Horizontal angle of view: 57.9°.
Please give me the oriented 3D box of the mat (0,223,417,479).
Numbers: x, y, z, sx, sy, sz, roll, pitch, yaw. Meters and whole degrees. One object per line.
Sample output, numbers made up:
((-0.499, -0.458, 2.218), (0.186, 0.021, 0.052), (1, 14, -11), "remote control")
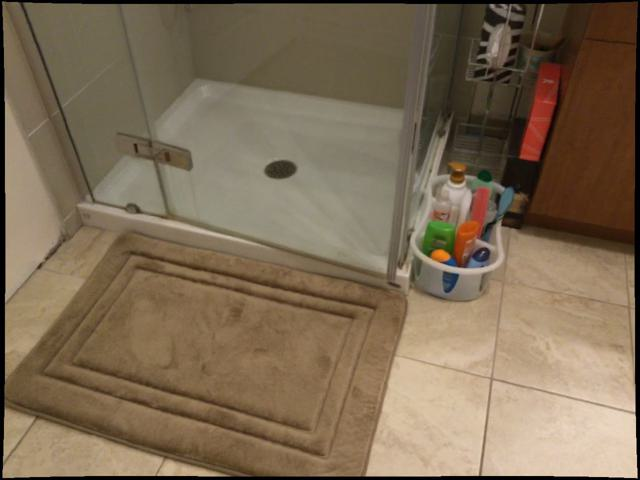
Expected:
((-0.260, 0.260, 1.470), (0.909, 0.080, 0.620), (10, 44, 13), "mat")

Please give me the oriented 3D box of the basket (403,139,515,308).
((0.400, -0.060, 1.650), (0.240, 0.240, 0.410), (10, 44, 13), "basket")
